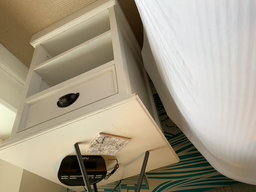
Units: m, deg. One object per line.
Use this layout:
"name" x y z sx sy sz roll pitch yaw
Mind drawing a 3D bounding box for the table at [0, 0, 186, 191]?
"table" -0.110 0.000 0.920 0.440 0.610 0.540 -21 139 13
